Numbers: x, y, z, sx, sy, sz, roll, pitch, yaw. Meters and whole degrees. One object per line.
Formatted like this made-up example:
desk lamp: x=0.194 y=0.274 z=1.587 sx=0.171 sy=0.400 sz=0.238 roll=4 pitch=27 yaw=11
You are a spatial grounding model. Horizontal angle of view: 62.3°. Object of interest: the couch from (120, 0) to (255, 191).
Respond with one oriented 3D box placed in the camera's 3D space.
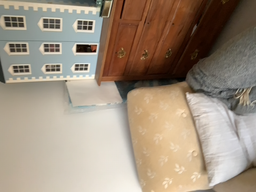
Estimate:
couch: x=0.600 y=0.160 z=1.040 sx=0.920 sy=0.930 sz=0.740 roll=143 pitch=119 yaw=-64
